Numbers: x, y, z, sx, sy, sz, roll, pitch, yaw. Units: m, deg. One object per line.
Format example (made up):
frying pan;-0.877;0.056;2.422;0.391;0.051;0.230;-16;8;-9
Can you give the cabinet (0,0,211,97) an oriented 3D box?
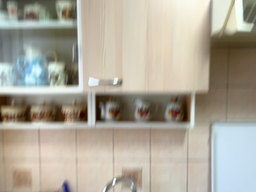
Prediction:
cabinet;-0.200;-0.380;0.950;1.030;0.750;0.290;0;5;0
